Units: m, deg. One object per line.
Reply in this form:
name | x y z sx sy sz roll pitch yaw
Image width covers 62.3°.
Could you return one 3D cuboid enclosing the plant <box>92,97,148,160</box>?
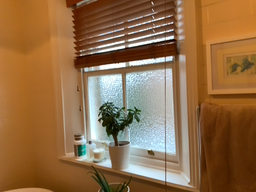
plant | -0.060 0.210 1.500 0.340 0.390 0.160 -2 3 35
